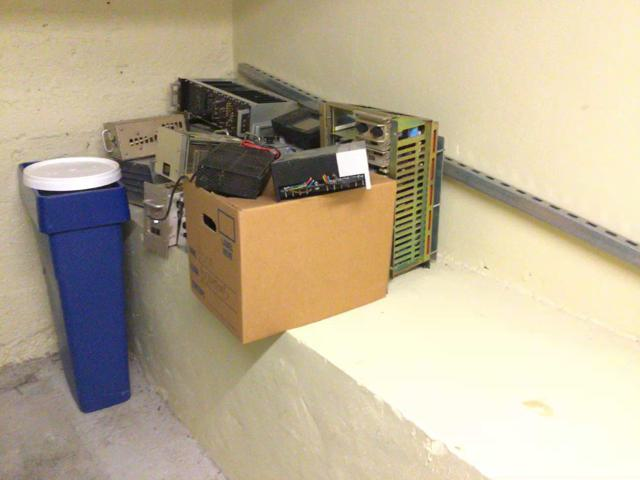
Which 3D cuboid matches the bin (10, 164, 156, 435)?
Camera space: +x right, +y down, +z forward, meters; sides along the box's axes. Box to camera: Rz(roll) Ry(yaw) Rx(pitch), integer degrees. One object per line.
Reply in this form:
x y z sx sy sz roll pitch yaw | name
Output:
-0.820 0.190 2.040 0.350 0.840 0.320 -11 25 -37 | bin
